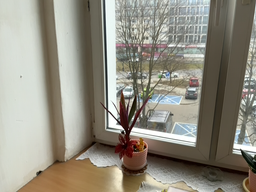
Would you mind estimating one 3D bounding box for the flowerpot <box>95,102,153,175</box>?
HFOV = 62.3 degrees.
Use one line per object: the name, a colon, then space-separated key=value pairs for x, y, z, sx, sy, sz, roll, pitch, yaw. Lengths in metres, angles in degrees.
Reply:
flowerpot: x=-0.020 y=0.220 z=1.180 sx=0.260 sy=0.310 sz=0.180 roll=7 pitch=18 yaw=21
